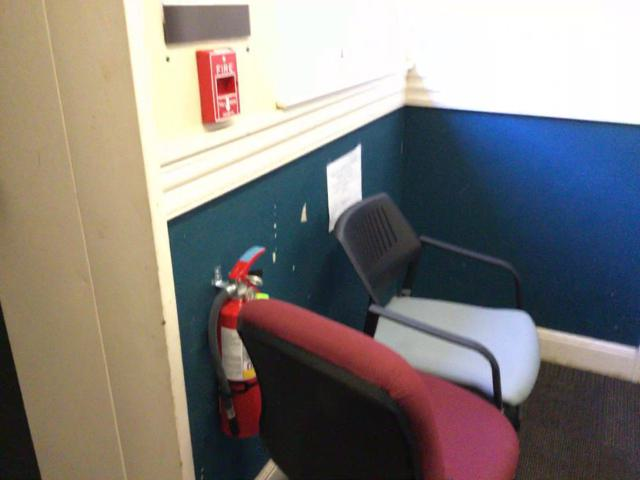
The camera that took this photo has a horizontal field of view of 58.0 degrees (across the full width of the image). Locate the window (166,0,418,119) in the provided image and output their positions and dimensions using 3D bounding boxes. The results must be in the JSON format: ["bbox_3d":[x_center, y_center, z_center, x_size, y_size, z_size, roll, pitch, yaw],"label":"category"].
[{"bbox_3d":[-0.010,-0.740,1.780,0.330,0.550,1.010,9,23,25],"label":"window"}]

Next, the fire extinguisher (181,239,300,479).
[{"bbox_3d":[-0.170,0.270,1.350,0.140,0.480,0.230,9,23,25],"label":"fire extinguisher"}]
